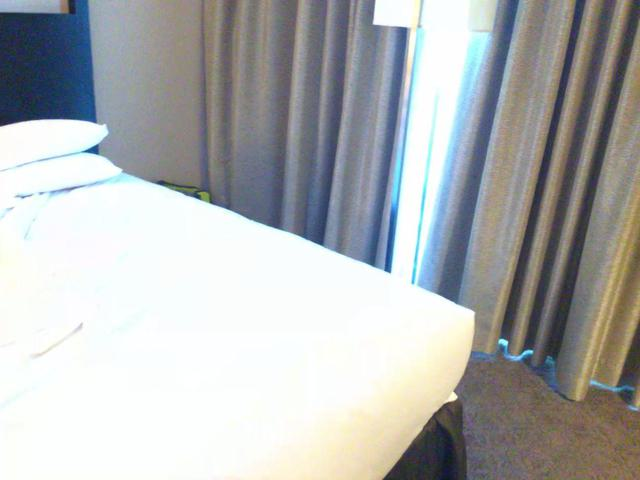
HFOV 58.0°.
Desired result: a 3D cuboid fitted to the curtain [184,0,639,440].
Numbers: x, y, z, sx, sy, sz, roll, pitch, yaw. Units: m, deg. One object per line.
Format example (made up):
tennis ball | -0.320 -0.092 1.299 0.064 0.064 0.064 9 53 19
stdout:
curtain | 0.510 -0.410 2.360 2.820 1.710 0.360 18 24 35
